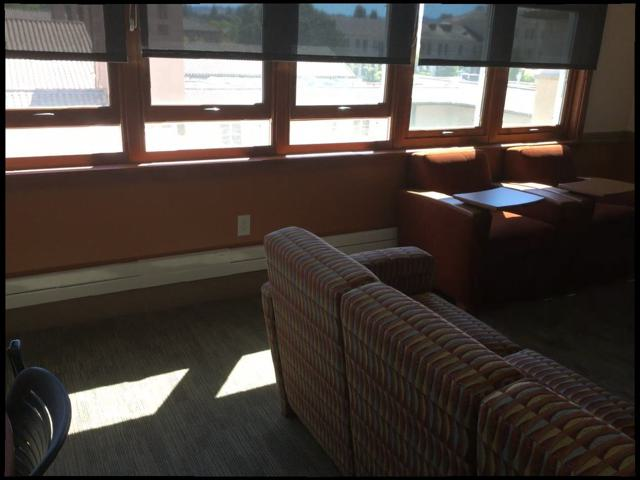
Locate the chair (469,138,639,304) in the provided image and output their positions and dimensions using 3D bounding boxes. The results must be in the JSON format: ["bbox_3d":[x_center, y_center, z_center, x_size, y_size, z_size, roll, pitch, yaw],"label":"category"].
[{"bbox_3d":[1.687,-0.190,3.950,0.799,0.842,0.910,-7,21,-26],"label":"chair"}]

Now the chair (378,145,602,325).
[{"bbox_3d":[0.998,-0.100,3.580,0.889,0.801,0.870,-8,21,-27],"label":"chair"}]

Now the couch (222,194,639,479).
[{"bbox_3d":[0.449,0.531,1.630,0.879,0.821,1.920,-7,21,-26],"label":"couch"}]
